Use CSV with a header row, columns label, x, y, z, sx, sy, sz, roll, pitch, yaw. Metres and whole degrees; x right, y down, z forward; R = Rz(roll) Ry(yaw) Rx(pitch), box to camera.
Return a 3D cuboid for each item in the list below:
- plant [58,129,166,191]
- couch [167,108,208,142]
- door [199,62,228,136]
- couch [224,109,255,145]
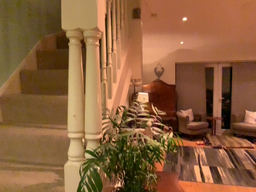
label,x,y,z,sx,sy,sz,roll,pitch,yaw
plant,-0.040,0.510,1.100,0.460,0.580,0.390,0,5,11
couch,1.620,0.760,5.790,0.780,0.720,0.730,-4,5,-31
door,2.470,0.100,6.140,0.760,2.100,0.120,0,5,9
couch,3.080,0.770,5.590,0.740,0.720,0.740,-5,6,-38
